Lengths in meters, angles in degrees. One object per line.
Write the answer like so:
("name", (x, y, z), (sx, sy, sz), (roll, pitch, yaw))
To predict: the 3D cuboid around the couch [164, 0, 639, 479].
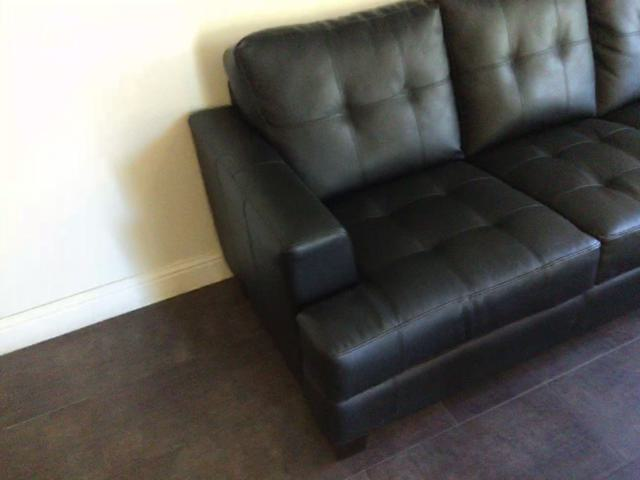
("couch", (0.780, -0.300, 1.810), (2.170, 0.970, 0.970), (-16, 38, -14))
